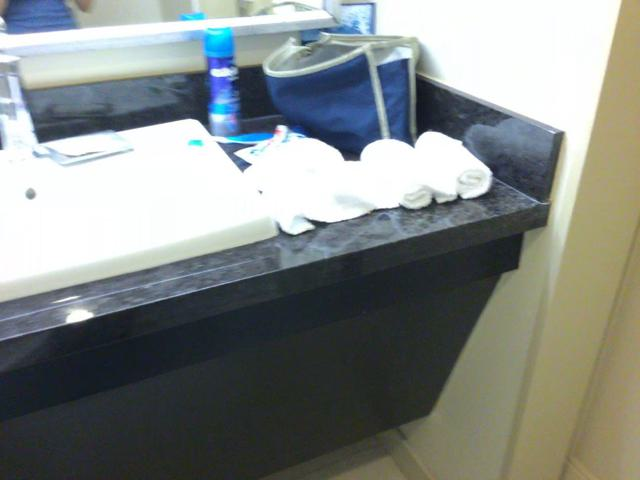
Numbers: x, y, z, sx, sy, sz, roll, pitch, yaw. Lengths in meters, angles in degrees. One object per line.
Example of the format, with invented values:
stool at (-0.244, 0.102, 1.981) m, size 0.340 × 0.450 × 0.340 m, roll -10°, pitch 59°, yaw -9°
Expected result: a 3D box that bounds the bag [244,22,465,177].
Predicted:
bag at (0.050, -0.260, 1.010) m, size 0.290 × 0.180 × 0.240 m, roll -13°, pitch 31°, yaw -22°
